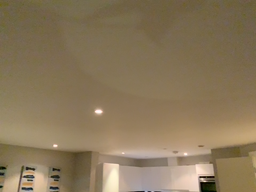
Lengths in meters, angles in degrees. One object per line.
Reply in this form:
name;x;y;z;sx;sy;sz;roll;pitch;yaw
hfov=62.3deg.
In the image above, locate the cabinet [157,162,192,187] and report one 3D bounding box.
cabinet;1.390;2.370;6.390;0.890;0.650;0.380;-15;-25;34
